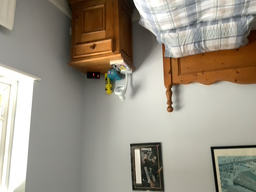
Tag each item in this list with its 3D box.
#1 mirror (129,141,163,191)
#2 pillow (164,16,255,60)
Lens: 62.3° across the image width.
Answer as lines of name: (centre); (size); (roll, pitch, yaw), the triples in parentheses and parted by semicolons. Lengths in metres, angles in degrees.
mirror: (0.160, 0.640, 1.970); (0.310, 0.430, 0.010); (-4, 168, 17)
pillow: (0.630, -0.440, 1.700); (0.640, 0.110, 0.370); (-4, 168, 15)
